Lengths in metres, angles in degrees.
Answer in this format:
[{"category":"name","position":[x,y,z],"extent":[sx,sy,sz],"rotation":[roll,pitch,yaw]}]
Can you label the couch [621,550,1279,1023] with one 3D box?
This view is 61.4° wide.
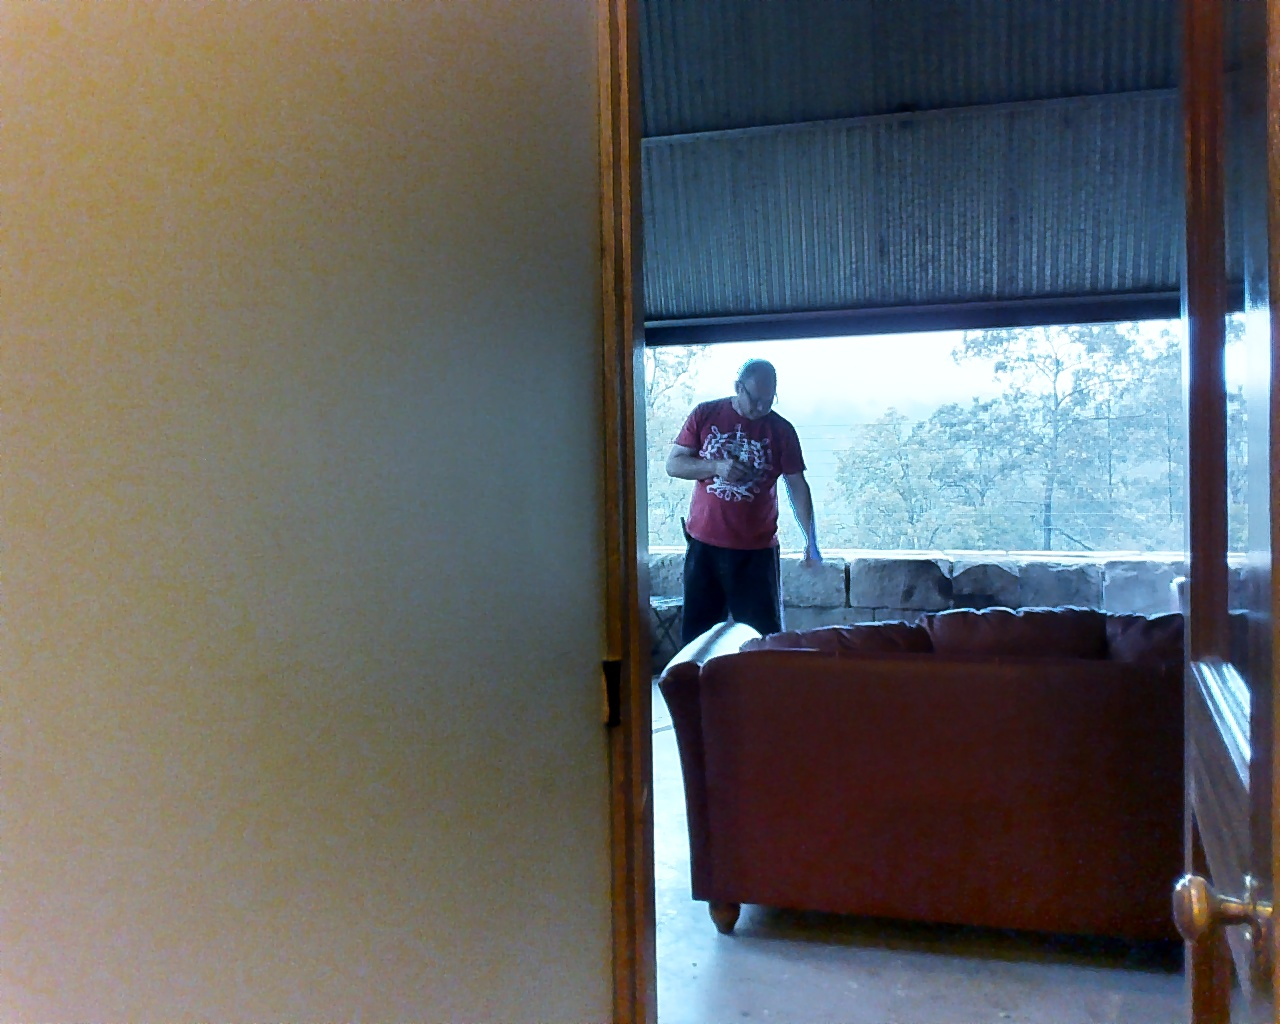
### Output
[{"category":"couch","position":[1.569,0.670,3.730],"extent":[2.599,0.900,2.790],"rotation":[0,1,15]}]
